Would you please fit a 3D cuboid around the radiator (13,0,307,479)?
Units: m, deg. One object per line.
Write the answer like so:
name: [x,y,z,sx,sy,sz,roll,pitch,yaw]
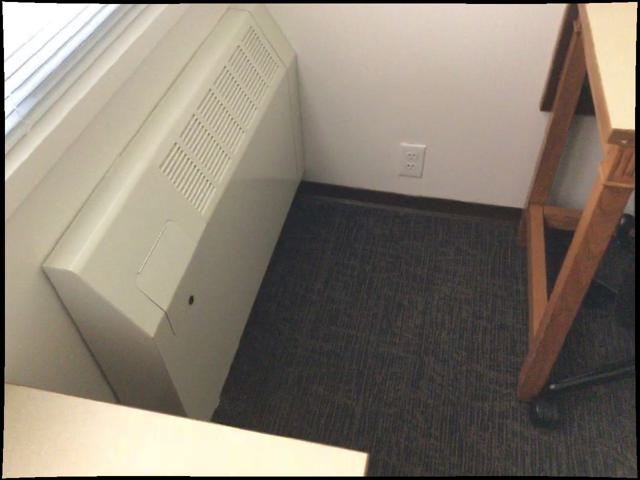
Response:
radiator: [-0.239,-0.040,1.360,0.200,0.641,0.961,7,48,9]
